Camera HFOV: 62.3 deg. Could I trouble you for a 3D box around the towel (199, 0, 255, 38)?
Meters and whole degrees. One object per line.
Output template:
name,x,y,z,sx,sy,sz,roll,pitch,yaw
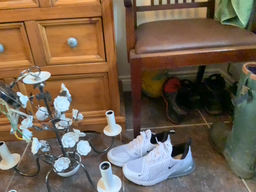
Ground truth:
towel,0.490,-0.450,1.010,0.150,0.250,0.340,-4,30,-2
